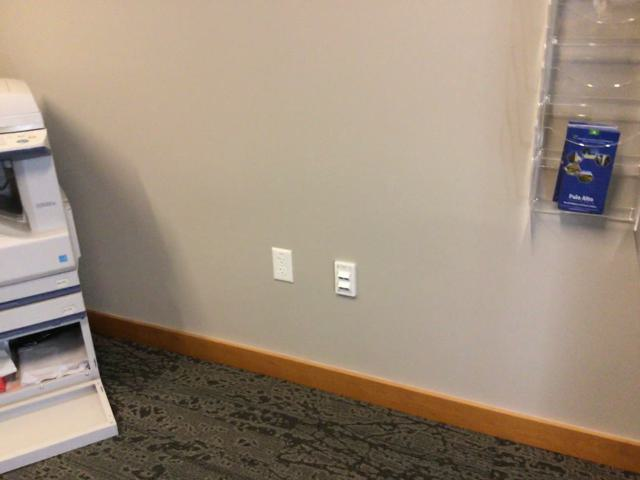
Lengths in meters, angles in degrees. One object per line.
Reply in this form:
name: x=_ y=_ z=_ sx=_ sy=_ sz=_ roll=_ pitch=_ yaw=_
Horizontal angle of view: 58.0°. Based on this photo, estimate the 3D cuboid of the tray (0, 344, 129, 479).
tray: x=-1.020 y=0.590 z=1.900 sx=0.660 sy=0.070 sz=0.570 roll=-12 pitch=23 yaw=-24
